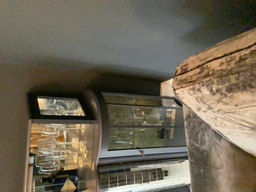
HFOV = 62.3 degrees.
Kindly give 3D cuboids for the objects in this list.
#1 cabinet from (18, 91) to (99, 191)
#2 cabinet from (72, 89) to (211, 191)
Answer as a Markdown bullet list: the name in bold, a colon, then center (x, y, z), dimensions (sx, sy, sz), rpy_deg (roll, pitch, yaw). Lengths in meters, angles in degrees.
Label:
- **cabinet**: center (-0.400, 0.440, 1.150), dimensions (0.320, 0.310, 0.910), rpy_deg (3, 89, 59)
- **cabinet**: center (0.100, 0.480, 1.430), dimensions (0.360, 0.830, 0.980), rpy_deg (3, 89, 59)
